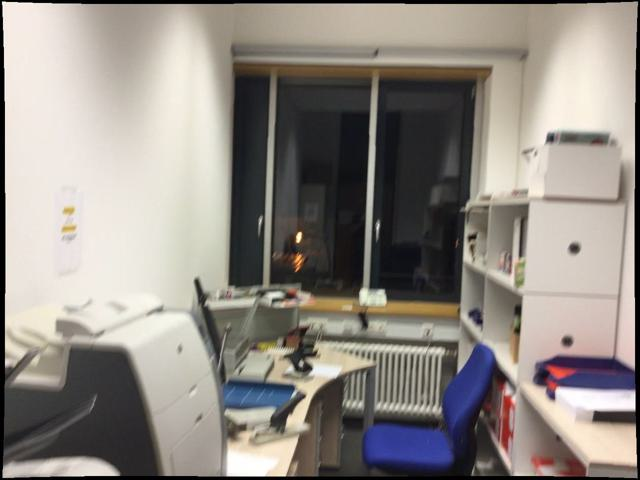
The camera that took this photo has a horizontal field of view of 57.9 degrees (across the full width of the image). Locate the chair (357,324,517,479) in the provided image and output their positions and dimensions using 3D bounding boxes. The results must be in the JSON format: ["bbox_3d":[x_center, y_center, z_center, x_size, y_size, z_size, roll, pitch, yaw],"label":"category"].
[{"bbox_3d":[0.569,0.971,3.020,0.669,0.911,0.520,4,5,1],"label":"chair"}]

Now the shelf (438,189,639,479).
[{"bbox_3d":[1.099,0.611,3.250,0.470,1.752,1.800,4,5,3],"label":"shelf"}]

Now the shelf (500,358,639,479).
[{"bbox_3d":[1.019,1.051,2.140,0.470,0.961,0.870,4,5,3],"label":"shelf"}]
